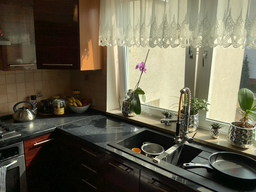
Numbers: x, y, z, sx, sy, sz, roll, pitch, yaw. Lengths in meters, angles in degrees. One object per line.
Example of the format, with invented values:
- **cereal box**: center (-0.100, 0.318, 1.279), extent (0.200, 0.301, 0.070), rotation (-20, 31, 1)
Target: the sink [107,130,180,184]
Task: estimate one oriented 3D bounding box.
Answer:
- **sink**: center (0.140, 0.480, 1.790), extent (0.390, 0.150, 0.500), rotation (12, 16, 39)
